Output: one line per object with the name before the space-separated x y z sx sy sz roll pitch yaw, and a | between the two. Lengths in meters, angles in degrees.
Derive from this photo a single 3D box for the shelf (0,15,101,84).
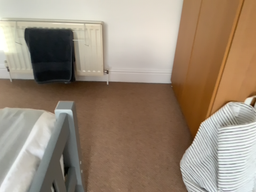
shelf | -0.770 -0.440 2.080 0.990 0.610 0.140 2 33 -2

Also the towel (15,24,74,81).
towel | -0.740 -0.390 1.950 0.420 0.480 0.130 3 33 -2
